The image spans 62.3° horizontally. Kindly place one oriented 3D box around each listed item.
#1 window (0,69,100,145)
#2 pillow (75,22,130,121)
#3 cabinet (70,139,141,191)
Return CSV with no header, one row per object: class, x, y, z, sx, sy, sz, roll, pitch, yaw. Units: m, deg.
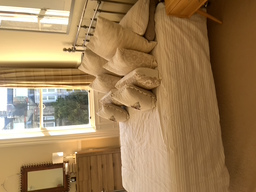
window,-1.480,0.190,4.110,0.320,1.740,1.330,147,120,-65
pillow,-0.380,-0.280,2.860,0.590,0.550,1.160,156,112,-67
cabinet,-0.420,1.310,3.860,0.490,1.150,0.920,154,113,-67
